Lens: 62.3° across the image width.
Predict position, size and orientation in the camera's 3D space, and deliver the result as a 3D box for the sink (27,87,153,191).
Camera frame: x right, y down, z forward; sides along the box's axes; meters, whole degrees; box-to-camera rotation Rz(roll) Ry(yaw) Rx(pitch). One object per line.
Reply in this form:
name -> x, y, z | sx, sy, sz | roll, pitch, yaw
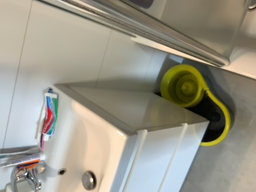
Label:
sink -> -0.190, 0.320, 0.790 | 0.360, 0.150, 0.610 | 28, 106, 36
